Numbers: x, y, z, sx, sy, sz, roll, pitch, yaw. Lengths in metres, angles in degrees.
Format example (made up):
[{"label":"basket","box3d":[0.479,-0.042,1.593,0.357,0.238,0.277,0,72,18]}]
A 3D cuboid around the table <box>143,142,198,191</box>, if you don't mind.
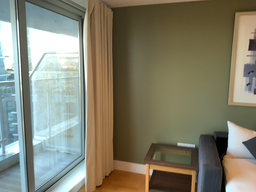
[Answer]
[{"label":"table","box3d":[0.550,0.970,2.640,0.590,0.520,0.660,3,8,17]}]
